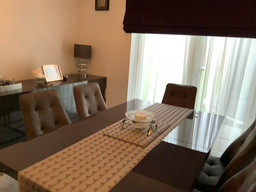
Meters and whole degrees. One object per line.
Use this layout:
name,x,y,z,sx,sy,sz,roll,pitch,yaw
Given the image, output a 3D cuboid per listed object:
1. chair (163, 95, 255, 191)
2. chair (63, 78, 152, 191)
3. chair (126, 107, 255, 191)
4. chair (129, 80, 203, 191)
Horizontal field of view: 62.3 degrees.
chair,0.640,0.550,1.610,0.570,0.950,0.500,12,16,28
chair,-0.210,0.370,2.040,0.640,0.950,0.490,13,17,30
chair,0.370,0.640,1.160,0.620,0.960,0.490,13,17,31
chair,0.410,0.360,2.290,0.500,0.950,0.590,13,16,29
